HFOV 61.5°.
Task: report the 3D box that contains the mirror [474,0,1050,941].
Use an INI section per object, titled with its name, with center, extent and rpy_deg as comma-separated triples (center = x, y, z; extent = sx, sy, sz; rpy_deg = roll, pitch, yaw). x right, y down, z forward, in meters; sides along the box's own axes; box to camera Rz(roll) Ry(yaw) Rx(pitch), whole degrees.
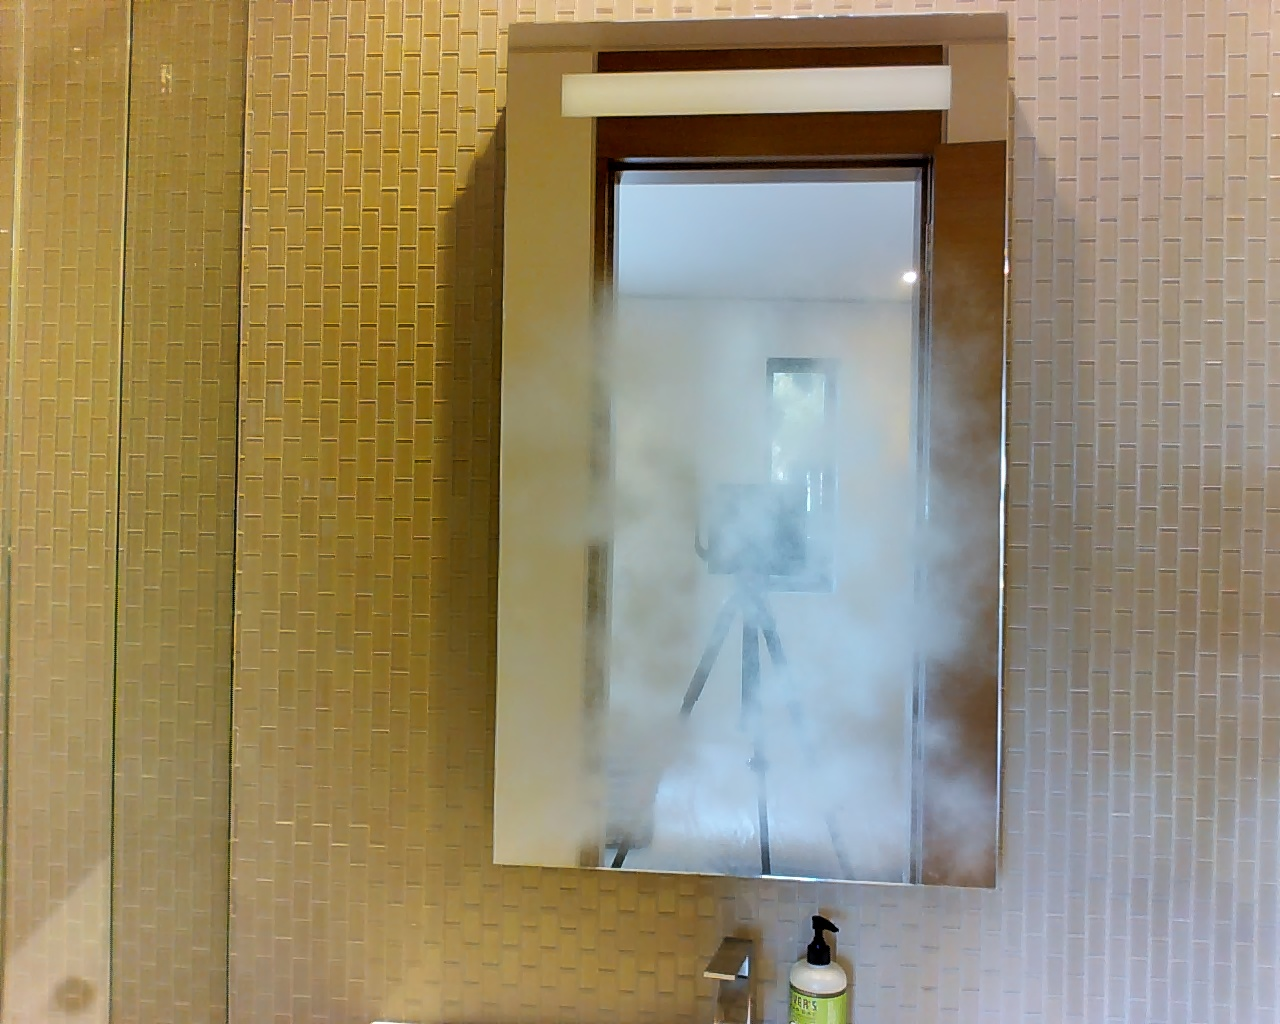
[mirror]
center = 0.140, -0.070, 1.310
extent = 0.650, 1.100, 0.100
rpy_deg = 1, 0, 7

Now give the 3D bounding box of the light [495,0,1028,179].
[light]
center = 0.140, -0.530, 1.310
extent = 0.620, 0.210, 0.090
rpy_deg = 1, 0, 7
